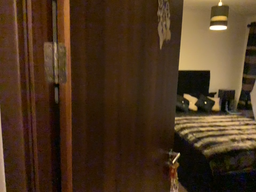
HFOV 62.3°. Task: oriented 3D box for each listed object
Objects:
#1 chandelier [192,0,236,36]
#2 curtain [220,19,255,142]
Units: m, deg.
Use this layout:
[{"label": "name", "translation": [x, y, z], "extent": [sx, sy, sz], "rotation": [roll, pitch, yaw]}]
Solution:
[{"label": "chandelier", "translation": [1.080, -1.030, 2.680], "extent": [0.340, 0.470, 0.360], "rotation": [-6, -168, -36]}, {"label": "curtain", "translation": [2.220, -0.280, 4.350], "extent": [0.180, 2.410, 0.390], "rotation": [-1, -170, -15]}]
